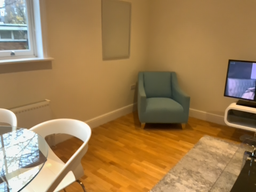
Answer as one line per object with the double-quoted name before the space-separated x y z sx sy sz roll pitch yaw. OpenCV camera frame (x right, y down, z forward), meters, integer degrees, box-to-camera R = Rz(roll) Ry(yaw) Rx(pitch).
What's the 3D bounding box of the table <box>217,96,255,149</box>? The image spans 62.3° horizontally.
"table" 1.830 0.390 3.040 0.860 0.540 0.520 13 19 37
